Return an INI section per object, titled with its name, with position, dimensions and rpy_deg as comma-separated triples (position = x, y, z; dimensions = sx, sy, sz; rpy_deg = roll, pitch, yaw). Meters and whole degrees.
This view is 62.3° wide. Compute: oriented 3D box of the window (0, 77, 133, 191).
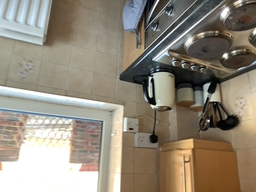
[window]
position = -0.650, 0.550, 1.100
dimensions = 1.340, 1.240, 0.300
rpy_deg = 11, 160, -25
